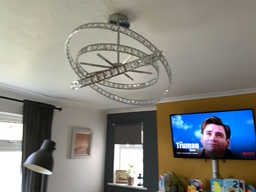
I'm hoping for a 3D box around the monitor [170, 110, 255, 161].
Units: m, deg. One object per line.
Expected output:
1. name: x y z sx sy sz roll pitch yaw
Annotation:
1. monitor: 0.990 0.480 2.560 0.950 0.550 0.040 -8 -6 31
